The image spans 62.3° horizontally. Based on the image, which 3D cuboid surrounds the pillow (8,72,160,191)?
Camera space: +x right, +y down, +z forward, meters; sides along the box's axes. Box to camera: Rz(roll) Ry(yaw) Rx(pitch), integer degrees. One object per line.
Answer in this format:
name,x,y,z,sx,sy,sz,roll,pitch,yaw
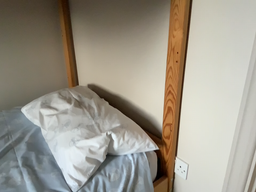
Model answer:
pillow,-0.280,0.080,1.120,0.460,0.150,0.780,-18,30,-34
